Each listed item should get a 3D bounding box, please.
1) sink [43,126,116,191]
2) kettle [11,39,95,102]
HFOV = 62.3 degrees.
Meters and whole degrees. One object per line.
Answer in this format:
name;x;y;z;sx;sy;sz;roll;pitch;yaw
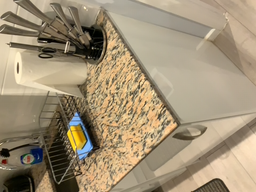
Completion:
sink;-0.330;0.460;1.350;0.370;0.240;0.370;-51;54;37
kettle;-0.330;-0.100;0.930;0.190;0.280;0.160;-54;53;36
